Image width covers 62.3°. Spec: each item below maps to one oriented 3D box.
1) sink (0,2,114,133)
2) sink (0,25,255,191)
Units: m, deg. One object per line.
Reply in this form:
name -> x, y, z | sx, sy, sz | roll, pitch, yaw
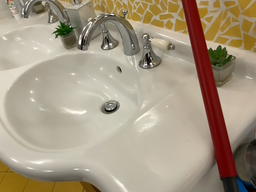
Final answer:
sink -> -0.480, -0.210, 1.000 | 0.520, 0.200, 0.650 | -34, 44, -23
sink -> -0.080, 0.070, 0.580 | 0.520, 0.200, 0.650 | -34, 44, -23
